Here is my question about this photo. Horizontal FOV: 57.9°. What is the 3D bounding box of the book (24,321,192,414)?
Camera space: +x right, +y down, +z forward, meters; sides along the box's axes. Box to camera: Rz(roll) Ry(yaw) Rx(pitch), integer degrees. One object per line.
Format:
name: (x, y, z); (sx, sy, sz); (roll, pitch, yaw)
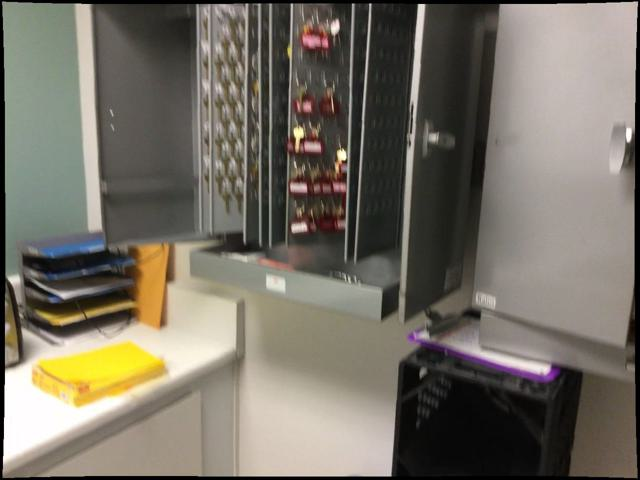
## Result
book: (-0.599, 0.350, 1.670); (0.260, 0.070, 0.370); (11, 16, 32)
